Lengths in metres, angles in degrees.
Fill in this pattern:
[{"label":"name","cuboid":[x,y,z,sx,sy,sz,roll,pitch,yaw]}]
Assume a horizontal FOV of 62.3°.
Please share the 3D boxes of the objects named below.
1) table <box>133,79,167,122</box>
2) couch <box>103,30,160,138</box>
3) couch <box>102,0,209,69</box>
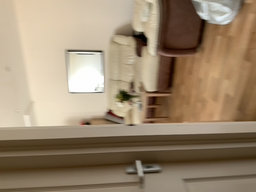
[{"label":"table","cuboid":[0.390,0.070,4.000,0.590,0.460,0.600,-106,17,-60]},{"label":"couch","cuboid":[-0.030,-0.260,4.880,1.010,1.020,2.210,-106,17,-60]},{"label":"couch","cuboid":[0.200,-1.170,2.950,1.610,1.060,1.060,-106,17,-60]}]
